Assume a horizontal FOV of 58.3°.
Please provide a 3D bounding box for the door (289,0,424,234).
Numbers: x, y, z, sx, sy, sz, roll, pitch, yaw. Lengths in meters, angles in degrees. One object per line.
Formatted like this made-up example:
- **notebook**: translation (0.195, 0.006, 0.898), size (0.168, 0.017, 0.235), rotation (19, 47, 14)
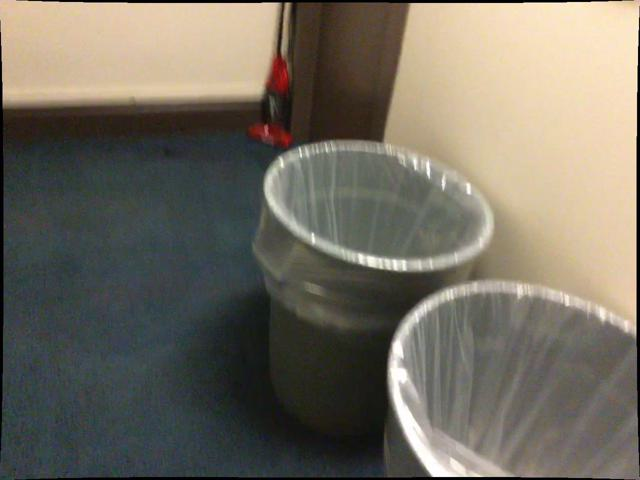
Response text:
- **door**: translation (0.140, -1.121, 2.210), size (0.130, 2.011, 0.960), rotation (-7, 38, -18)

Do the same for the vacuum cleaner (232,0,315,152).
- **vacuum cleaner**: translation (-0.230, -0.971, 2.790), size (0.290, 1.011, 0.260), rotation (22, 38, 21)

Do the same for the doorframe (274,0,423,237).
- **doorframe**: translation (0.090, -1.151, 2.250), size (0.170, 1.991, 1.120), rotation (-7, 38, -18)
